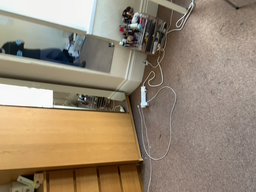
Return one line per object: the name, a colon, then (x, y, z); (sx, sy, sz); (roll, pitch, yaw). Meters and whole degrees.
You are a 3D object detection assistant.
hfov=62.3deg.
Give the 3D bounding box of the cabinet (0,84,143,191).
cabinet: (-0.890, 0.440, 2.150); (0.620, 1.920, 0.810); (-46, 47, 45)
